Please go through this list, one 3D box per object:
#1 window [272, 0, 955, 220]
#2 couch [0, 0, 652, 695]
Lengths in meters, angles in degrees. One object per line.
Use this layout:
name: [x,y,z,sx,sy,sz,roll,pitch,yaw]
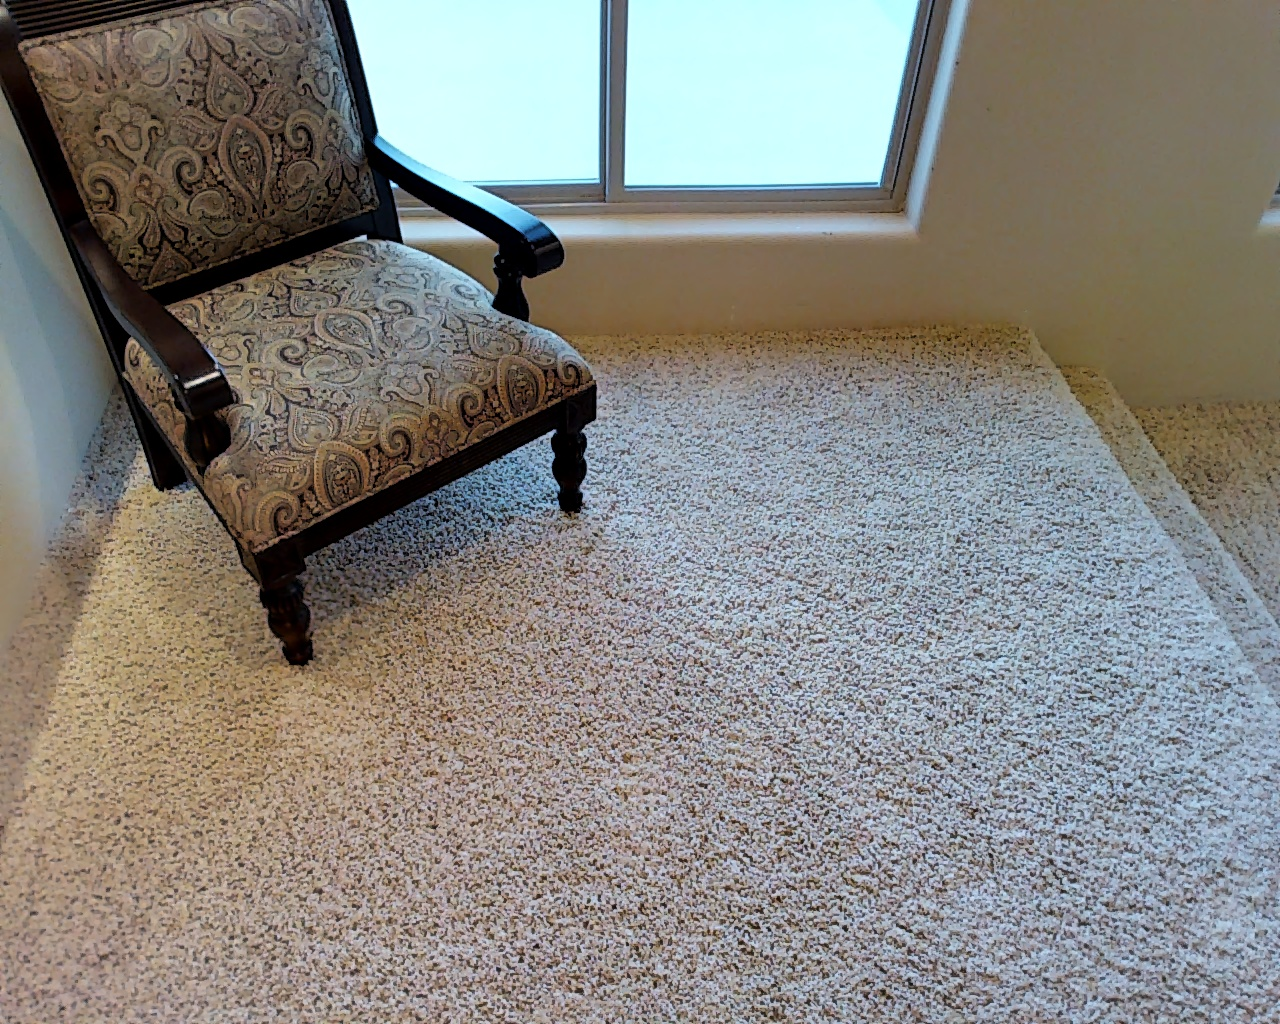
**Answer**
window: [-0.030,-1.309,2.200,1.481,1.470,0.120,-2,44,-6]
couch: [-0.580,-0.430,1.980,0.790,0.980,0.850,-31,53,-31]
